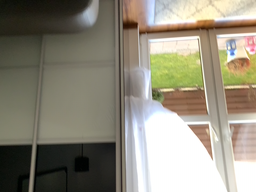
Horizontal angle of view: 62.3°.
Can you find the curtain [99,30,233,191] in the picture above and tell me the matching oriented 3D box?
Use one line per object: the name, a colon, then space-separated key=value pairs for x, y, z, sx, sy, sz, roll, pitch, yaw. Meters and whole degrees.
curtain: x=0.270 y=0.660 z=1.650 sx=0.950 sy=2.430 sz=0.240 roll=-2 pitch=166 yaw=2
